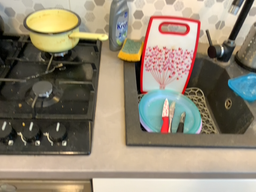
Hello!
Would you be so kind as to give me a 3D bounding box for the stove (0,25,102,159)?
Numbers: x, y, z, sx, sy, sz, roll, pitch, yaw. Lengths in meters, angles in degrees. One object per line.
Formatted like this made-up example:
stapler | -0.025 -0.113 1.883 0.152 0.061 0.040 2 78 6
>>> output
stove | -0.400 -0.070 0.640 0.610 0.020 0.550 2 45 -5
